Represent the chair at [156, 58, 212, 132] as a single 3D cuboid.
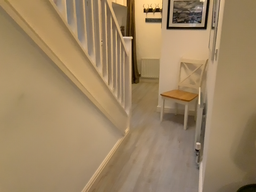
[{"bbox_3d":[0.810,-0.050,3.120,0.560,0.910,0.480,-16,24,-42],"label":"chair"}]
